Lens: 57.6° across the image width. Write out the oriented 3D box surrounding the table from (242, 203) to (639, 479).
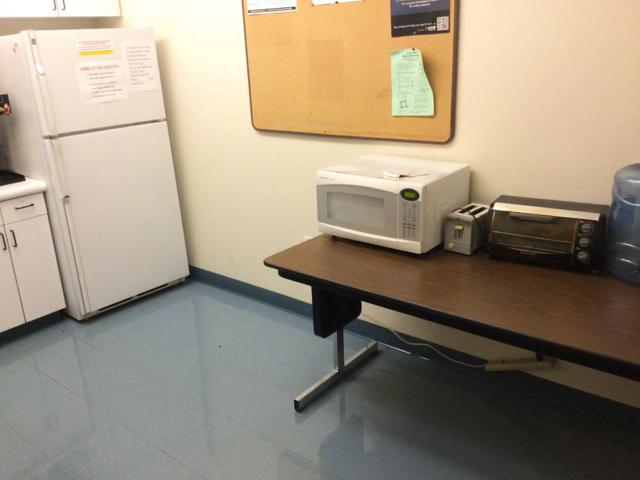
[{"bbox_3d":[0.580,0.420,2.200,1.590,0.760,0.790,12,24,37],"label":"table"}]
